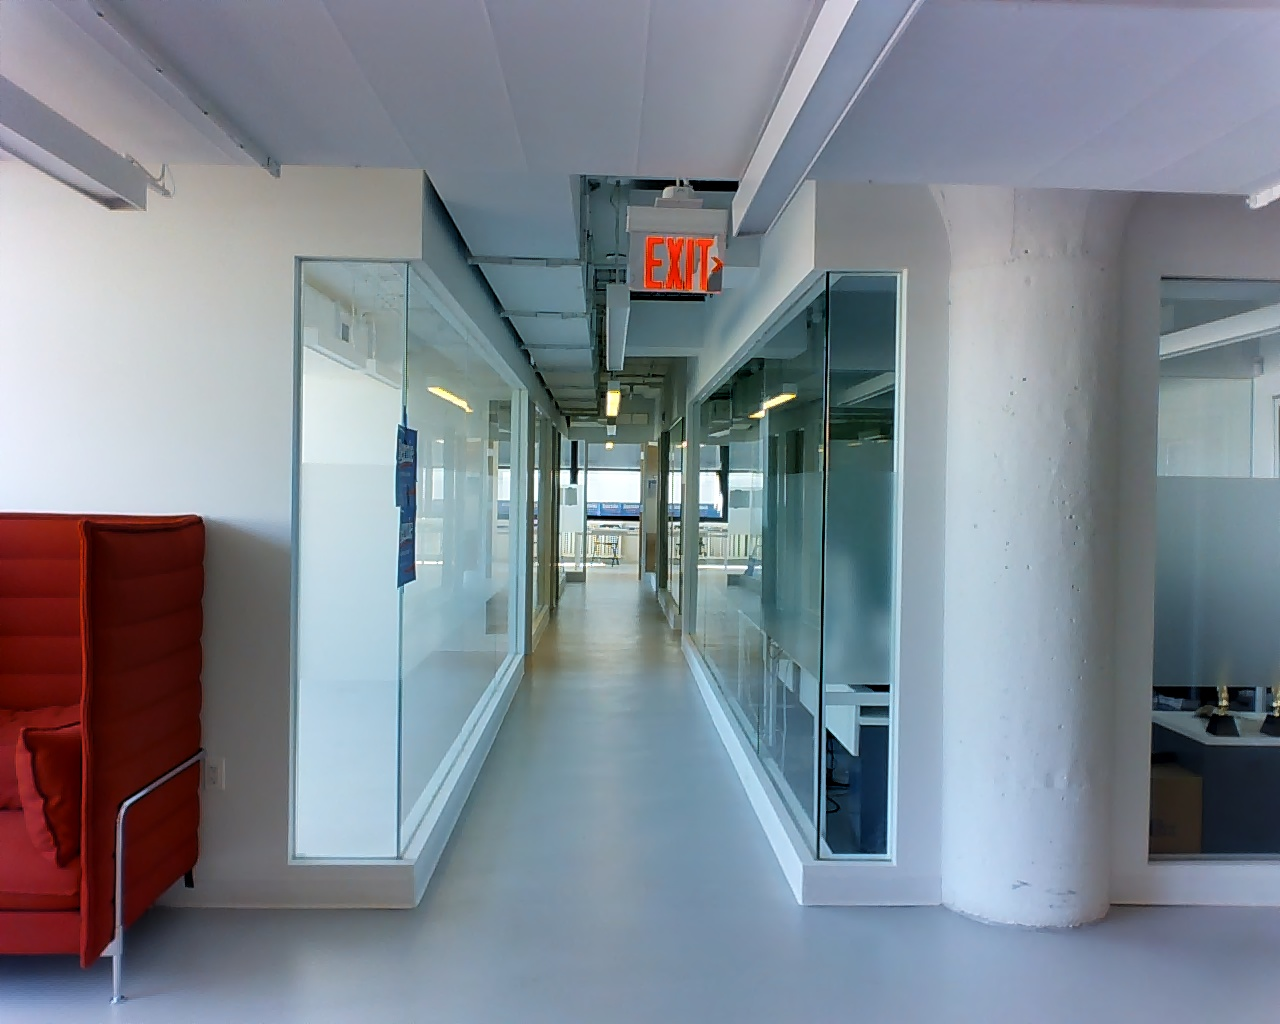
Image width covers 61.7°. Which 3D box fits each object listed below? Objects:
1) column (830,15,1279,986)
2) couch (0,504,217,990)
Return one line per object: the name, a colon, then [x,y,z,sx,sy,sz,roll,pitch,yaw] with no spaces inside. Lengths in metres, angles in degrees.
column: [1.410,-0.020,3.570,1.350,2.891,0.710,1,1,-2]
couch: [-2.090,0.620,3.270,1.250,1.280,0.880,1,1,-2]
